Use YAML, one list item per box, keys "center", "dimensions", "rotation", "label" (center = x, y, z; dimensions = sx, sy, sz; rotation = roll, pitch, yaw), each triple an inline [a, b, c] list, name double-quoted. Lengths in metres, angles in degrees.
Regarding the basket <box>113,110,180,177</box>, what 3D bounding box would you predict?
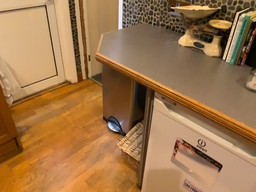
- center: [0.150, 0.350, 1.670]
  dimensions: [0.290, 0.180, 0.460]
  rotation: [30, 44, 32]
  label: "basket"
